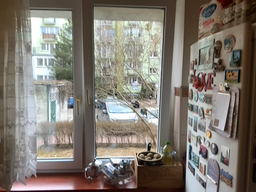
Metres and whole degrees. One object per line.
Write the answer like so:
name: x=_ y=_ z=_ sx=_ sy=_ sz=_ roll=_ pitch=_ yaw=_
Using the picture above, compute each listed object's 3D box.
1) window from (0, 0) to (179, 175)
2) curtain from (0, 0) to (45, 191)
window: x=-0.330 y=-0.100 z=1.870 sx=1.480 sy=1.530 sz=0.190 roll=1 pitch=4 yaw=-5
curtain: x=-0.850 y=-0.180 z=1.430 sx=0.430 sy=1.860 sz=0.340 roll=1 pitch=4 yaw=0
